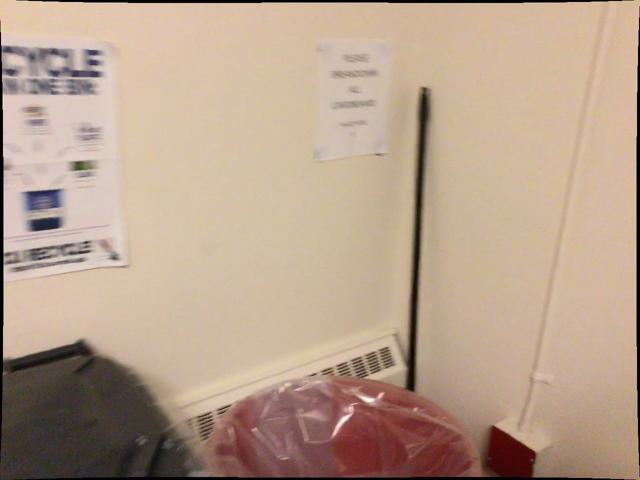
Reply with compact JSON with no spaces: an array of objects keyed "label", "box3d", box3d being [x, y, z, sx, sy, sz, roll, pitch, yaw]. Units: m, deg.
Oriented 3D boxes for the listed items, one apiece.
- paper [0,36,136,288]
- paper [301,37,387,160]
[{"label":"paper","box3d":[-0.510,-0.140,1.040,0.300,0.430,0.050,-12,22,-34]},{"label":"paper","box3d":[0.060,-0.350,1.420,0.230,0.280,0.040,-12,22,-34]}]
